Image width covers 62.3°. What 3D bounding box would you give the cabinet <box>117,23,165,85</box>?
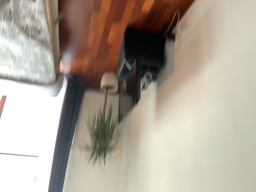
[{"bbox_3d":[0.120,-0.410,2.160,0.370,0.440,0.370,8,158,-14],"label":"cabinet"}]
